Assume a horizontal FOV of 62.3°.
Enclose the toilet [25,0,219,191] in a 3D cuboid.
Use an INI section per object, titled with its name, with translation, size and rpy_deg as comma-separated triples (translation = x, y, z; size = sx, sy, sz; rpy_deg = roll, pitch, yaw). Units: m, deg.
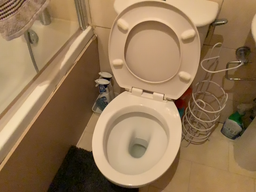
[toilet]
translation = 0.060, 0.060, 0.960
size = 0.420, 0.780, 0.670
rpy_deg = 13, 51, 11
